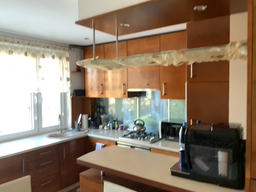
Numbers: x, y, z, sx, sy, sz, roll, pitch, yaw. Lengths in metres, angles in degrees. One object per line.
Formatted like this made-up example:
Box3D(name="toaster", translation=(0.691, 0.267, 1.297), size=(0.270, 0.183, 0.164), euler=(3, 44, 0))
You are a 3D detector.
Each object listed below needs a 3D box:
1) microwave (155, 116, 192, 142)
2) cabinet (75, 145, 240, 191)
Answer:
Box3D(name="microwave", translation=(0.710, 0.500, 3.300), size=(0.490, 0.300, 0.290), euler=(2, 3, 32))
Box3D(name="cabinet", translation=(0.120, 0.700, 1.590), size=(1.240, 0.410, 0.250), euler=(2, 4, 36))
